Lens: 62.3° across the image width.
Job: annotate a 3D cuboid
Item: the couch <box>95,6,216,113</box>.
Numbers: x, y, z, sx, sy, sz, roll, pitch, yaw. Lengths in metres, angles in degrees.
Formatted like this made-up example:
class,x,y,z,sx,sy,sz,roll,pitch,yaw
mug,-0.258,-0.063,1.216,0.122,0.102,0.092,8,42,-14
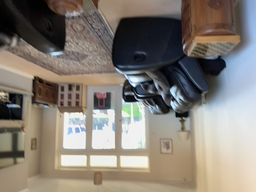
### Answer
class,x,y,z,sx,sy,sz,roll,pitch,yaw
couch,0.430,-0.280,3.230,1.200,0.960,2.150,-2,173,10
